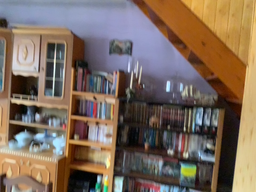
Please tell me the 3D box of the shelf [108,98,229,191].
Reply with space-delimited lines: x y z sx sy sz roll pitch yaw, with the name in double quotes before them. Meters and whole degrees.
"shelf" 0.420 0.770 2.470 1.160 1.360 0.440 5 3 12
